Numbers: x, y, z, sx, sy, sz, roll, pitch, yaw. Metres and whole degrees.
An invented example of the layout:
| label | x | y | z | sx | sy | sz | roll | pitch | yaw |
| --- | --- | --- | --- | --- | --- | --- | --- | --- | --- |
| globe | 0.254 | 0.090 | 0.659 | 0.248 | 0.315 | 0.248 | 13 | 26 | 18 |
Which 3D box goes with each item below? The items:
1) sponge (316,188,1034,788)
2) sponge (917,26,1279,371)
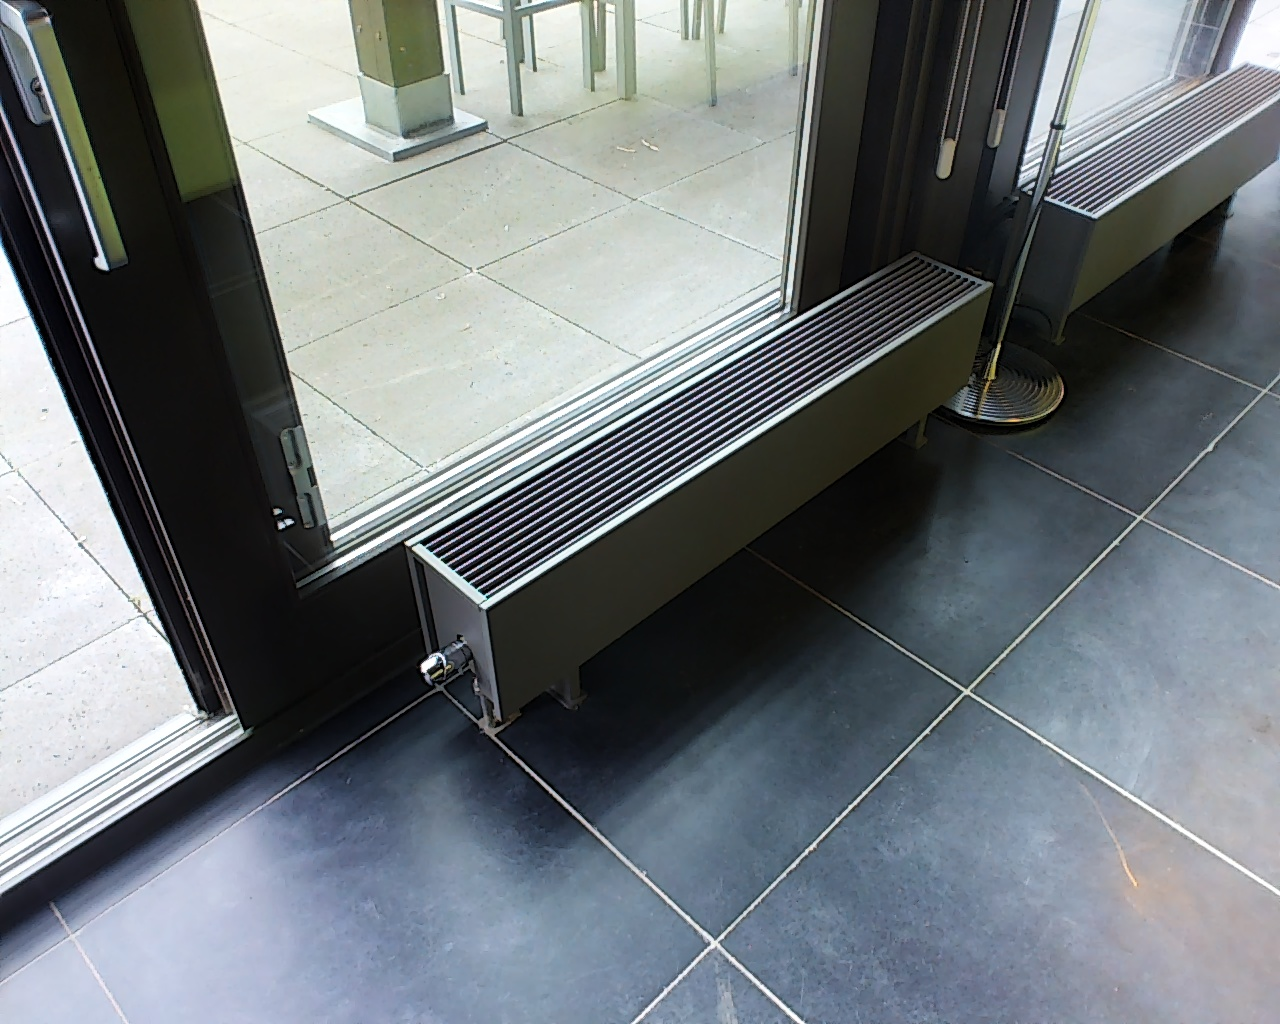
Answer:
| label | x | y | z | sx | sy | sz | roll | pitch | yaw |
| --- | --- | --- | --- | --- | --- | --- | --- | --- | --- |
| sponge | 0.140 | -0.130 | 1.880 | 1.310 | 0.390 | 0.360 | -33 | 51 | -32 |
| sponge | 1.270 | -0.850 | 2.740 | 1.300 | 0.390 | 0.370 | -33 | 51 | -32 |
